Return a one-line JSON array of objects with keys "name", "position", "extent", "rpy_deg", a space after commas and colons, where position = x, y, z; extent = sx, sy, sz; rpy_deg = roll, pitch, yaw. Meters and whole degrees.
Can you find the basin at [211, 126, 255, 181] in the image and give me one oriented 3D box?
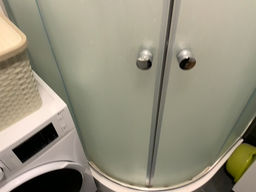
[{"name": "basin", "position": [0.700, 0.380, 1.380], "extent": [0.210, 0.300, 0.130], "rpy_deg": [-31, 54, -25]}]
